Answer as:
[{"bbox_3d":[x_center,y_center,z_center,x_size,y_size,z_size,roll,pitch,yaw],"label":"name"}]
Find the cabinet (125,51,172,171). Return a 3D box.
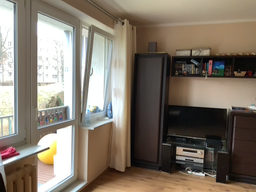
[{"bbox_3d":[0.380,0.230,3.850,0.630,1.980,0.570,4,5,20],"label":"cabinet"}]

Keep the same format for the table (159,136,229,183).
[{"bbox_3d":[1.110,1.040,3.630,1.030,0.460,0.580,4,5,20],"label":"table"}]
